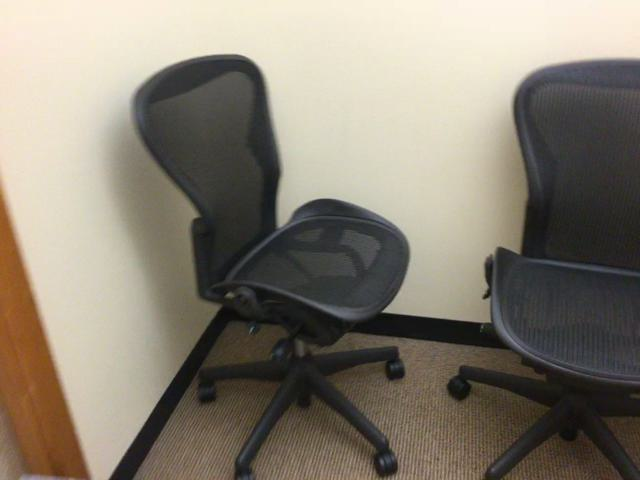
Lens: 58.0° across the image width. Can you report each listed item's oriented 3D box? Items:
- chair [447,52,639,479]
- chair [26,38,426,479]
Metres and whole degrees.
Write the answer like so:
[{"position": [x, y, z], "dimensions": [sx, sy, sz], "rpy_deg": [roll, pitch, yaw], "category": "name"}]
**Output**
[{"position": [0.710, 0.100, 1.460], "dimensions": [0.660, 1.010, 0.660], "rpy_deg": [5, 26, 19], "category": "chair"}, {"position": [-0.120, 0.050, 1.620], "dimensions": [0.710, 1.060, 0.730], "rpy_deg": [4, 26, 19], "category": "chair"}]
